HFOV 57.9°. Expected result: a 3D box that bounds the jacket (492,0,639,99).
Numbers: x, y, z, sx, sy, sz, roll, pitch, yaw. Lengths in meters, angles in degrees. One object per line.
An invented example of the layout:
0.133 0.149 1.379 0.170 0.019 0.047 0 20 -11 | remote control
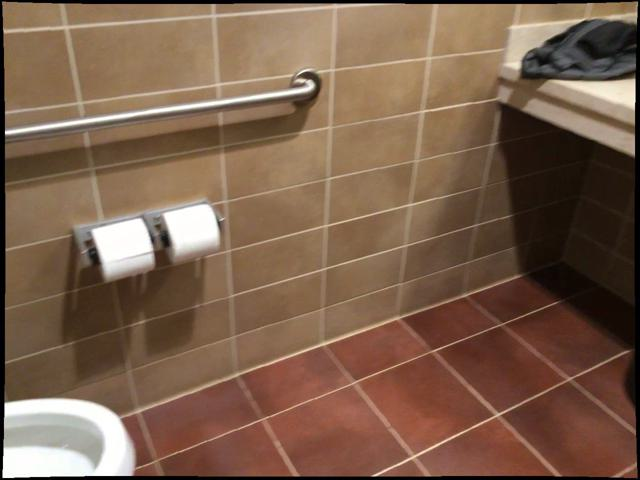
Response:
0.829 -0.561 1.640 0.580 0.140 0.310 -16 37 -23 | jacket
